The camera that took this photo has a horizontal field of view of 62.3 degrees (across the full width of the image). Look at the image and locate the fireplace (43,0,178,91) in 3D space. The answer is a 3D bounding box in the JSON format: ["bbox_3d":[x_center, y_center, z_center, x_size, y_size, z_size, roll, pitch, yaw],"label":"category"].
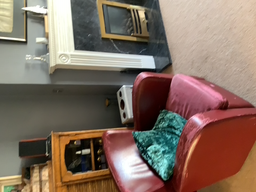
[{"bbox_3d":[-0.280,-0.870,2.380,0.660,1.200,1.490,141,124,-59],"label":"fireplace"}]
